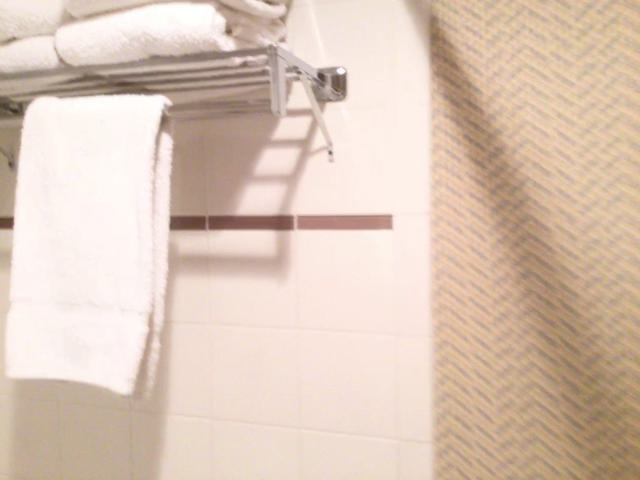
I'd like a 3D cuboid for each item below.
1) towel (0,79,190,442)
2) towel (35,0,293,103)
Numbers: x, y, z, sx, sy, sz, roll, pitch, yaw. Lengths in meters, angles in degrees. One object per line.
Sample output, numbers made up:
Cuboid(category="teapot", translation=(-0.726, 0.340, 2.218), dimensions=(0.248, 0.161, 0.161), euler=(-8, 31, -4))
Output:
Cuboid(category="towel", translation=(-0.300, 0.020, 0.730), dimensions=(0.230, 0.400, 0.130), euler=(2, 3, 17))
Cuboid(category="towel", translation=(-0.190, -0.260, 0.770), dimensions=(0.240, 0.100, 0.240), euler=(2, 3, 17))
